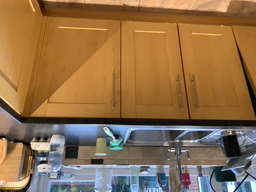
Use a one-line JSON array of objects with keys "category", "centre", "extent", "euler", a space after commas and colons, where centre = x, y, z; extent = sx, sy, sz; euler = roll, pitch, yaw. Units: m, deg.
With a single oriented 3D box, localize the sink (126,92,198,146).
[{"category": "sink", "centre": [0.200, 0.190, 1.530], "extent": [0.390, 0.230, 0.530], "euler": [2, 156, -5]}]
